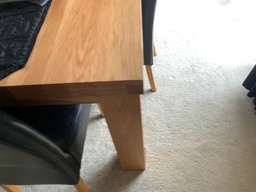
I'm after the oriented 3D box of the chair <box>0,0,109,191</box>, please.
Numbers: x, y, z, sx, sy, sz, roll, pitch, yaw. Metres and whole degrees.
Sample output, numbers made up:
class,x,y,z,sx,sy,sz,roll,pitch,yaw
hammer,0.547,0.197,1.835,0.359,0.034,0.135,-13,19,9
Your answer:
class,x,y,z,sx,sy,sz,roll,pitch,yaw
chair,-0.400,0.060,0.780,0.470,0.970,0.600,-2,55,4
